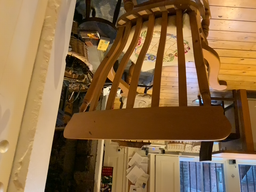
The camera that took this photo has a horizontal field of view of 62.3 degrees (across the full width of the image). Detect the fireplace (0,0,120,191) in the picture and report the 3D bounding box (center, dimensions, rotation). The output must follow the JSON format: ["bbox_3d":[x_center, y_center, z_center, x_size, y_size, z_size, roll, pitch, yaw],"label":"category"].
[{"bbox_3d":[-0.780,0.400,1.960,1.140,1.970,2.130,2,161,3],"label":"fireplace"}]

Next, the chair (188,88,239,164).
[{"bbox_3d":[1.240,0.460,3.170,0.500,1.030,0.420,4,161,-3],"label":"chair"}]

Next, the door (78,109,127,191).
[{"bbox_3d":[-0.530,1.330,4.520,0.880,2.100,0.110,4,161,-2],"label":"door"}]

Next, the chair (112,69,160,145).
[{"bbox_3d":[0.100,0.180,2.870,0.500,0.870,0.550,7,161,-10],"label":"chair"}]
